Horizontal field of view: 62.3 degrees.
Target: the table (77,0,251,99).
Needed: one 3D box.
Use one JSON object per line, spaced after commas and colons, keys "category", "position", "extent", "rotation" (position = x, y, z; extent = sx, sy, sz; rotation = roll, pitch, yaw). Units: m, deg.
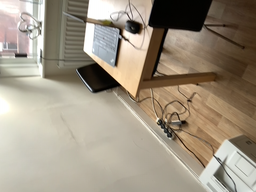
{"category": "table", "position": [0.240, -0.740, 1.340], "extent": [0.760, 0.750, 1.230], "rotation": [44, 130, 43]}
